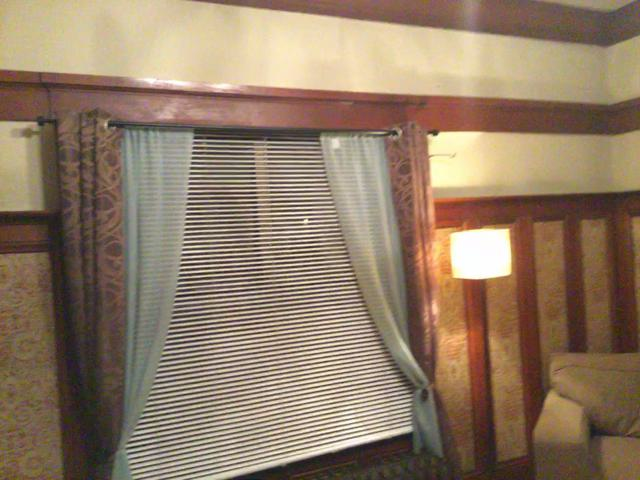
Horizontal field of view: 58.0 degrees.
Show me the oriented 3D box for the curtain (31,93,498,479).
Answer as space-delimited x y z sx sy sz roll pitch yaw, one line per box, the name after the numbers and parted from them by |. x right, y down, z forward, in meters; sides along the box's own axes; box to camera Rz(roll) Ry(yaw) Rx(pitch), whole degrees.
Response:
-0.150 0.460 2.510 1.810 2.110 0.310 -5 -3 -22 | curtain

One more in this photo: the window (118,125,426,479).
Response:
-0.180 0.240 2.570 1.230 1.490 0.140 -5 -3 -22 | window

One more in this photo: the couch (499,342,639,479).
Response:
1.460 0.940 2.500 1.100 0.860 0.880 -8 -4 26 | couch
